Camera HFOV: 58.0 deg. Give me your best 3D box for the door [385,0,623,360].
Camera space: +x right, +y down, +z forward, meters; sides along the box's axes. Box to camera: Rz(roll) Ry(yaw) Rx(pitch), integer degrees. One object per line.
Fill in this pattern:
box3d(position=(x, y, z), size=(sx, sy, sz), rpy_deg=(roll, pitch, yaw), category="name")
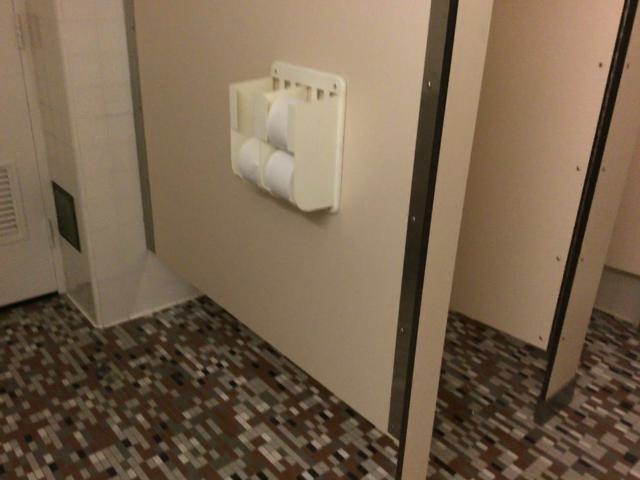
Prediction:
box3d(position=(0.500, -0.360, 1.750), size=(0.050, 1.380, 0.640), rpy_deg=(-20, 31, -41), category="door")
